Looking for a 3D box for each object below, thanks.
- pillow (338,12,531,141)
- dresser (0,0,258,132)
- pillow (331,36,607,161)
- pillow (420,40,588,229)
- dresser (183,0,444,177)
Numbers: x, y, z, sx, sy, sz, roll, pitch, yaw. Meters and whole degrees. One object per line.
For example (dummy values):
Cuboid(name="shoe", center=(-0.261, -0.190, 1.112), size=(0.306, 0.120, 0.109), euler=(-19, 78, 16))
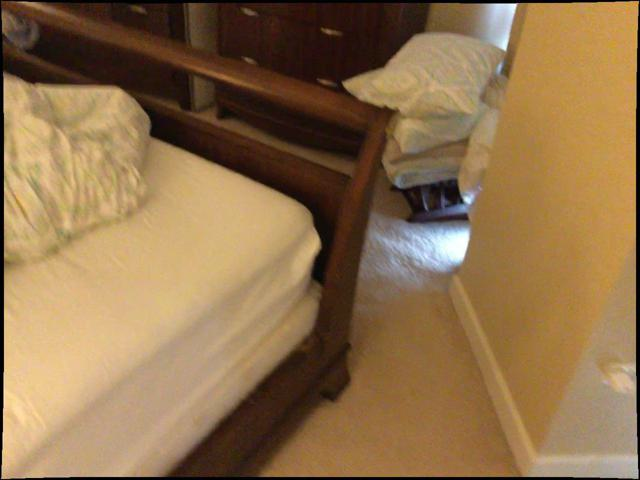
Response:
Cuboid(name="pillow", center=(0.489, -0.712, 2.390), size=(0.529, 0.210, 0.730), euler=(21, 40, 24))
Cuboid(name="dresser", center=(-1.397, -1.514, 3.620), size=(1.897, 1.002, 0.760), euler=(21, 40, 24))
Cuboid(name="pillow", center=(0.579, -0.652, 2.500), size=(0.888, 0.180, 0.811), euler=(-6, 37, -11))
Cuboid(name="pillow", center=(0.818, -0.501, 2.530), size=(0.399, 0.461, 0.830), euler=(21, 40, 24))
Cuboid(name="dresser", center=(-0.040, -1.313, 2.940), size=(1.208, 1.582, 0.620), euler=(21, 40, 24))
